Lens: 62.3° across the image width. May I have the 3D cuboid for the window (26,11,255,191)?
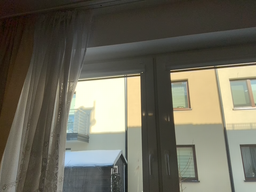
[{"bbox_3d":[0.270,0.340,1.200,1.570,1.420,0.440,-5,-18,14],"label":"window"}]
